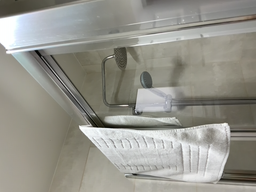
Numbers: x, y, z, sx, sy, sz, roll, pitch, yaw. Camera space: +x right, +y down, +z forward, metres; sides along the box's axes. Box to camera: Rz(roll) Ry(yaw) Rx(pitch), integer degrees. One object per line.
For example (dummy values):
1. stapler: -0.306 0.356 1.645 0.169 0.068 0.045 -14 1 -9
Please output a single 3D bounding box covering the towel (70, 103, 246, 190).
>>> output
1. towel: 0.130 0.230 0.840 0.540 0.500 0.100 67 -154 -50
